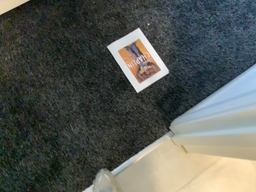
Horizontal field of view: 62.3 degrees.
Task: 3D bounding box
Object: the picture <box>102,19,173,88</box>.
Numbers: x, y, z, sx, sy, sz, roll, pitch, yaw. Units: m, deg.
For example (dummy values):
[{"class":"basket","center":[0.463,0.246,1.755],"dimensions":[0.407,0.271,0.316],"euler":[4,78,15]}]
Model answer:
[{"class":"picture","center":[0.050,-0.230,1.130],"dimensions":[0.270,0.040,0.270],"euler":[-34,83,-11]}]
